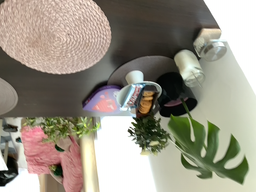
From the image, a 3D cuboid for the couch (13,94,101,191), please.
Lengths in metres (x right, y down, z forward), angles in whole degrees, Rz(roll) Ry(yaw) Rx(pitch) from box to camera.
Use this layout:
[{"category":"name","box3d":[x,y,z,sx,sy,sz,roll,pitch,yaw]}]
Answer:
[{"category":"couch","box3d":[-1.210,1.070,3.630,0.940,0.900,2.600,0,147,-20]}]

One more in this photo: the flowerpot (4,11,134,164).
[{"category":"flowerpot","box3d":[-0.620,0.000,2.130,0.860,0.950,1.130,1,146,-21]}]
